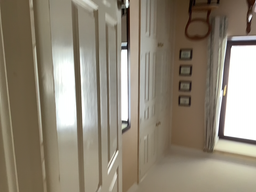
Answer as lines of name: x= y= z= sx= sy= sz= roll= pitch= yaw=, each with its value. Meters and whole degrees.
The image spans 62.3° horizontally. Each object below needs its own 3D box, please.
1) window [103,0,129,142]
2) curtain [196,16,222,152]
window: x=-0.110 y=-0.370 z=2.130 sx=0.020 sy=1.600 sz=0.430 roll=6 pitch=-168 yaw=29
curtain: x=1.280 y=-0.140 z=3.380 sx=0.240 sy=2.120 sz=0.130 roll=5 pitch=-169 yaw=25
